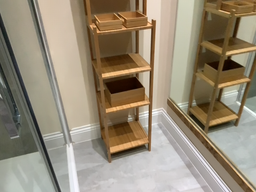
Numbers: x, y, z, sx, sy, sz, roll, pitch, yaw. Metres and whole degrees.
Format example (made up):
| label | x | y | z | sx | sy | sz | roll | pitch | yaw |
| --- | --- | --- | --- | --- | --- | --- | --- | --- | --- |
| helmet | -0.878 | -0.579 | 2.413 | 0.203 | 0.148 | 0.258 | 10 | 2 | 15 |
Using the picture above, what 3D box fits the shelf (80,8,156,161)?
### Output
| label | x | y | z | sx | sy | sz | roll | pitch | yaw |
| --- | --- | --- | --- | --- | --- | --- | --- | --- | --- |
| shelf | -0.060 | -0.040 | 1.460 | 0.360 | 0.990 | 0.300 | -11 | 34 | -14 |
